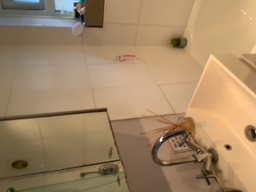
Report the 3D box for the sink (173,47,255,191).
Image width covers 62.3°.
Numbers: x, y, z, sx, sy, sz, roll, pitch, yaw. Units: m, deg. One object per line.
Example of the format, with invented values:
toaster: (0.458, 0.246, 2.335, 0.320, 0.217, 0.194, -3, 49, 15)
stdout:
sink: (0.410, 0.140, 0.800, 0.550, 0.140, 0.420, -112, 26, -45)
